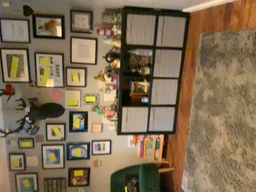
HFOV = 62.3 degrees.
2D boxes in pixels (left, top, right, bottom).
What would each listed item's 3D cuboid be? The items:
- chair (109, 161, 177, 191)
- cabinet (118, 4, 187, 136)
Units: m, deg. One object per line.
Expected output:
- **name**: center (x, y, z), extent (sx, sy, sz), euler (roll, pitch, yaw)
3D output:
- **chair**: center (0.170, 1.270, 2.980), extent (0.770, 0.780, 0.620), euler (118, 151, -68)
- **cabinet**: center (0.270, -0.290, 2.750), extent (0.370, 0.700, 1.560), euler (-127, 38, -73)
